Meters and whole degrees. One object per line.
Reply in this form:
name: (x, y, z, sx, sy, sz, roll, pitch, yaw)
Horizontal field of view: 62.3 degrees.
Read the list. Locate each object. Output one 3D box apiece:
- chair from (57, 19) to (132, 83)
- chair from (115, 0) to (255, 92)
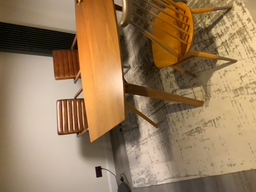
chair: (-0.470, -0.560, 2.850, 0.560, 0.790, 0.530, -41, 54, 52)
chair: (0.410, -0.370, 1.420, 0.590, 0.760, 0.460, -41, 54, 52)
